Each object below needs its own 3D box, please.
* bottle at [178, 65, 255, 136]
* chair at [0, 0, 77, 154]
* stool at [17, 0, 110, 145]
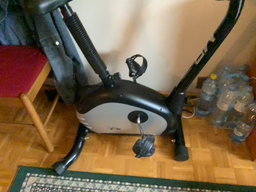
[{"bbox_3d":[0.530,0.020,1.350,0.370,0.260,0.340,5,46,6],"label":"bottle"},{"bbox_3d":[-0.640,-0.140,1.190,0.430,0.800,0.540,3,45,4],"label":"chair"},{"bbox_3d":[-0.240,-0.090,1.050,0.230,0.890,0.200,-2,45,-1],"label":"stool"}]
